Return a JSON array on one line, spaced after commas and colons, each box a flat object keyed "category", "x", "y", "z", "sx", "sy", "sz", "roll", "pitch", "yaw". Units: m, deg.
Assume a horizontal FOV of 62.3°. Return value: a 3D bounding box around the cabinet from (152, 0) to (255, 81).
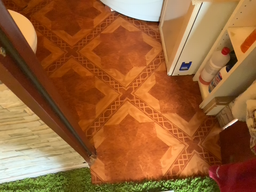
[{"category": "cabinet", "x": 0.370, "y": -0.400, "z": 1.190, "sx": 0.350, "sy": 0.570, "sz": 0.380, "roll": -4, "pitch": 65, "yaw": -3}]
